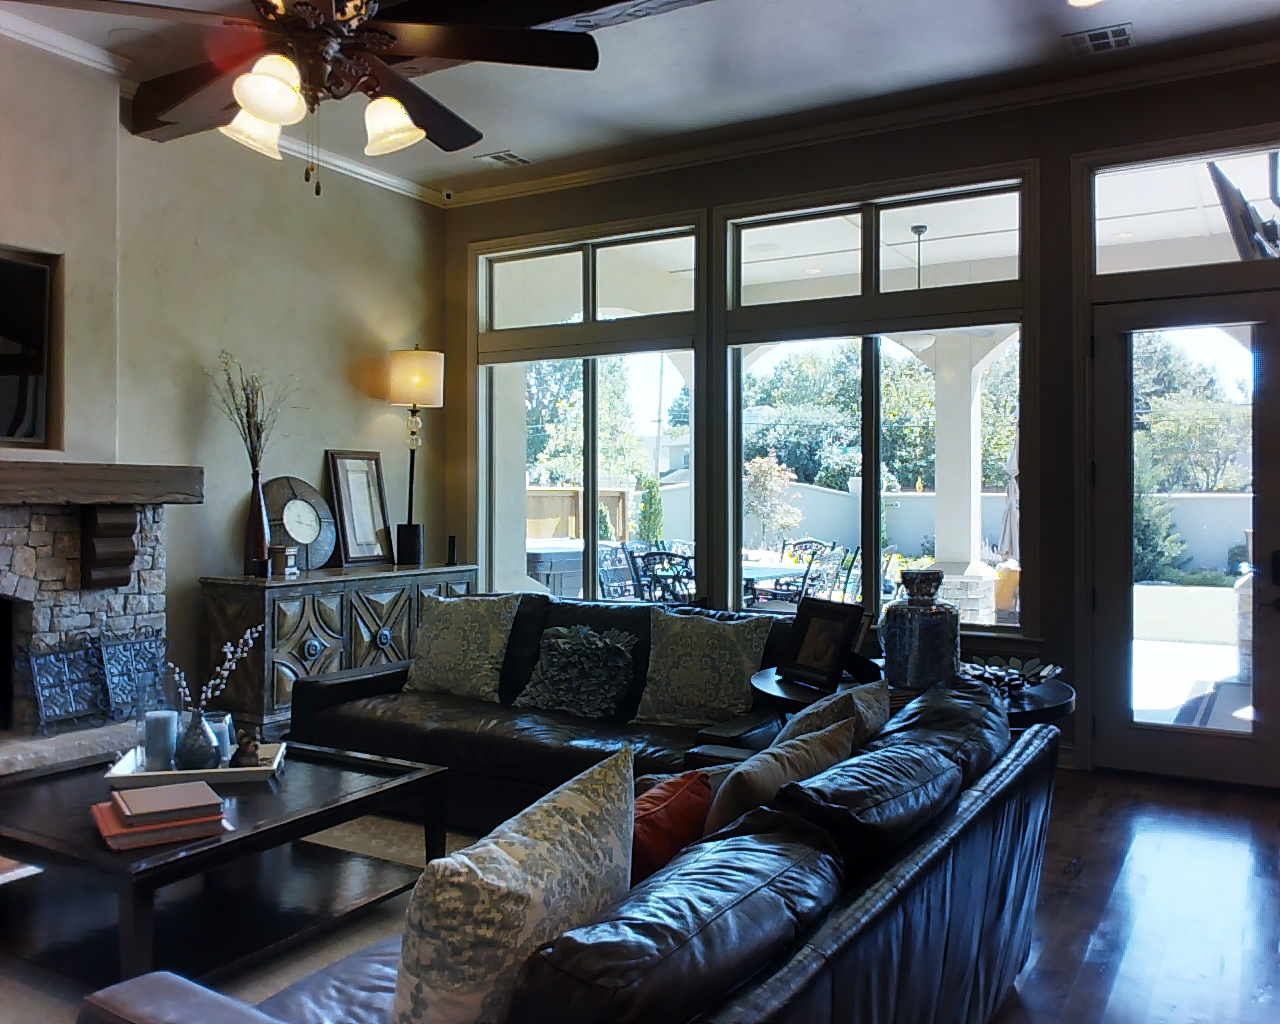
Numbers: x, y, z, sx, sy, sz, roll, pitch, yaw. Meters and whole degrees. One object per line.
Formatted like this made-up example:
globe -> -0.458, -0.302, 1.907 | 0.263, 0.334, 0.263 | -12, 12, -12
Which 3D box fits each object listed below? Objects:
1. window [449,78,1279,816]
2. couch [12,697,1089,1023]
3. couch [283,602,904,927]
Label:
window -> 1.040, -0.320, 6.560 | 5.510, 3.540, 0.320 | 0, -1, 31
couch -> 0.150, 1.050, 2.530 | 1.320, 0.760, 2.500 | 0, -1, 31
couch -> -0.250, 0.970, 4.880 | 2.560, 0.920, 1.260 | 0, -1, 31
